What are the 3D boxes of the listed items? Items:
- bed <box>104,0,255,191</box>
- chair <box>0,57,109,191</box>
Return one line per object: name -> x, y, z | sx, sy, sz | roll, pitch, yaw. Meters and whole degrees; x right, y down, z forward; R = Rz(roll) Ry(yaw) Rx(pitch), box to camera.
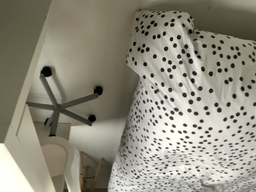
bed -> 0.750, 0.480, 1.800 | 1.710, 0.590, 2.200 | 4, 141, -10
chair -> -0.510, 0.300, 1.330 | 0.670, 0.750, 0.660 | 7, 141, -13
